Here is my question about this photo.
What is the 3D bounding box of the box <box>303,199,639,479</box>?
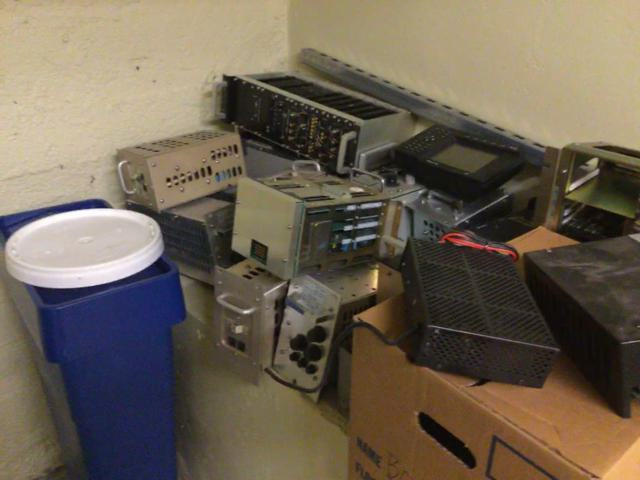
[{"bbox_3d":[0.310,0.220,0.830,0.530,0.380,0.380,-16,30,-39],"label":"box"}]

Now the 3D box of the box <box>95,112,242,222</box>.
[{"bbox_3d":[-0.390,-0.200,1.490,0.280,0.180,0.230,-16,36,-39],"label":"box"}]

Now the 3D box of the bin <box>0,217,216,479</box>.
[{"bbox_3d":[-0.480,0.420,1.350,0.350,0.840,0.320,-16,30,-39],"label":"bin"}]
